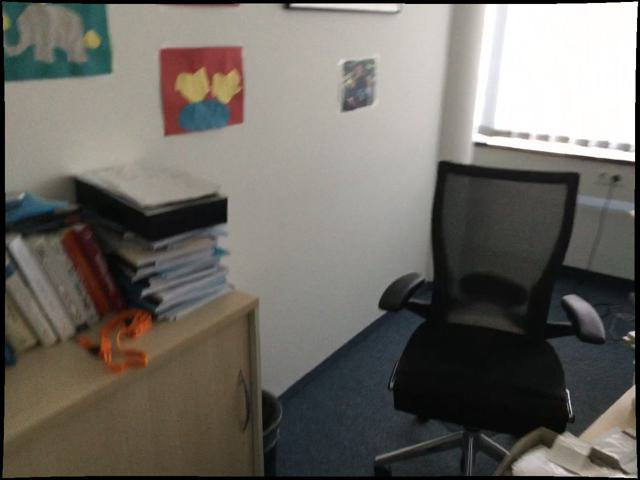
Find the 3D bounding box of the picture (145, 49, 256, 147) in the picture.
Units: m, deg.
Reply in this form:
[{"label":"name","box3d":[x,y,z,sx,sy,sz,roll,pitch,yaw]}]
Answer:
[{"label":"picture","box3d":[-0.350,-0.440,1.760,0.090,0.240,0.350,16,27,32]}]

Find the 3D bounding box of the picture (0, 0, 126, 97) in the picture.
[{"label":"picture","box3d":[-0.639,-0.480,1.350,0.080,0.240,0.350,16,27,32]}]
